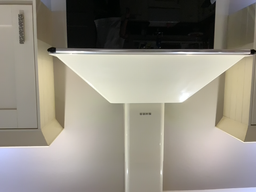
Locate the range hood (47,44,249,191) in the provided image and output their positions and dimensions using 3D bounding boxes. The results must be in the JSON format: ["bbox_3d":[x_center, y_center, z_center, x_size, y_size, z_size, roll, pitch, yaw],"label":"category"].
[{"bbox_3d":[0.110,0.220,1.460,1.110,1.060,0.510,-1,-173,-6],"label":"range hood"}]
